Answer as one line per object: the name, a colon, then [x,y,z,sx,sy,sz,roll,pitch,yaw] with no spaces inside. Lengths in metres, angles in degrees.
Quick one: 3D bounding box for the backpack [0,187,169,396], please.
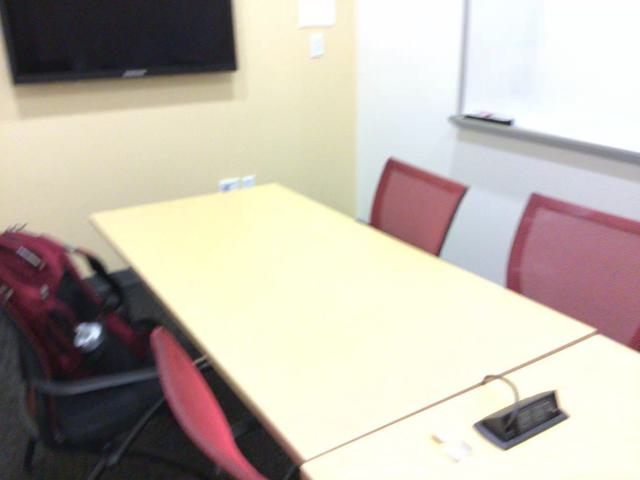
backpack: [-0.690,0.110,1.630,0.370,0.390,0.430,-12,22,-27]
